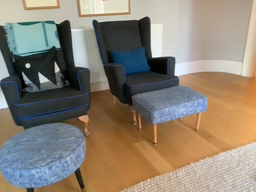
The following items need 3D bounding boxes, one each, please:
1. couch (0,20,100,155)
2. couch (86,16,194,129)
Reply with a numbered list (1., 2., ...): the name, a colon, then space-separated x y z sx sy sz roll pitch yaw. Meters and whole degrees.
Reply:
1. couch: -0.790 -0.180 2.020 0.700 0.960 0.870 -13 24 -24
2. couch: 0.080 -0.360 2.380 0.750 0.960 0.950 -13 24 -24
